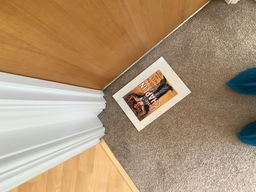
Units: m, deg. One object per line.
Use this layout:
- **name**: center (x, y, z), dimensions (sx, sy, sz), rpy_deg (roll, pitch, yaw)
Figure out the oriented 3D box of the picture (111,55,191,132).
- **picture**: center (0.100, -0.010, 0.970), dimensions (0.300, 0.010, 0.210), rpy_deg (-38, 82, 8)
